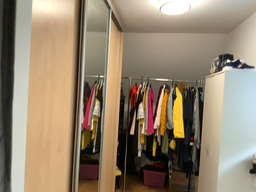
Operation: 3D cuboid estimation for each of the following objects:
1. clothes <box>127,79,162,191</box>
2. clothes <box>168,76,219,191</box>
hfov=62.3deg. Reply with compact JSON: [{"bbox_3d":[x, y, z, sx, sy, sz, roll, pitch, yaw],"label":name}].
[{"bbox_3d":[0.230,0.680,3.380,0.370,1.830,1.090,4,2,2],"label":"clothes"},{"bbox_3d":[0.970,0.480,3.250,0.540,1.490,0.880,4,2,14],"label":"clothes"}]
